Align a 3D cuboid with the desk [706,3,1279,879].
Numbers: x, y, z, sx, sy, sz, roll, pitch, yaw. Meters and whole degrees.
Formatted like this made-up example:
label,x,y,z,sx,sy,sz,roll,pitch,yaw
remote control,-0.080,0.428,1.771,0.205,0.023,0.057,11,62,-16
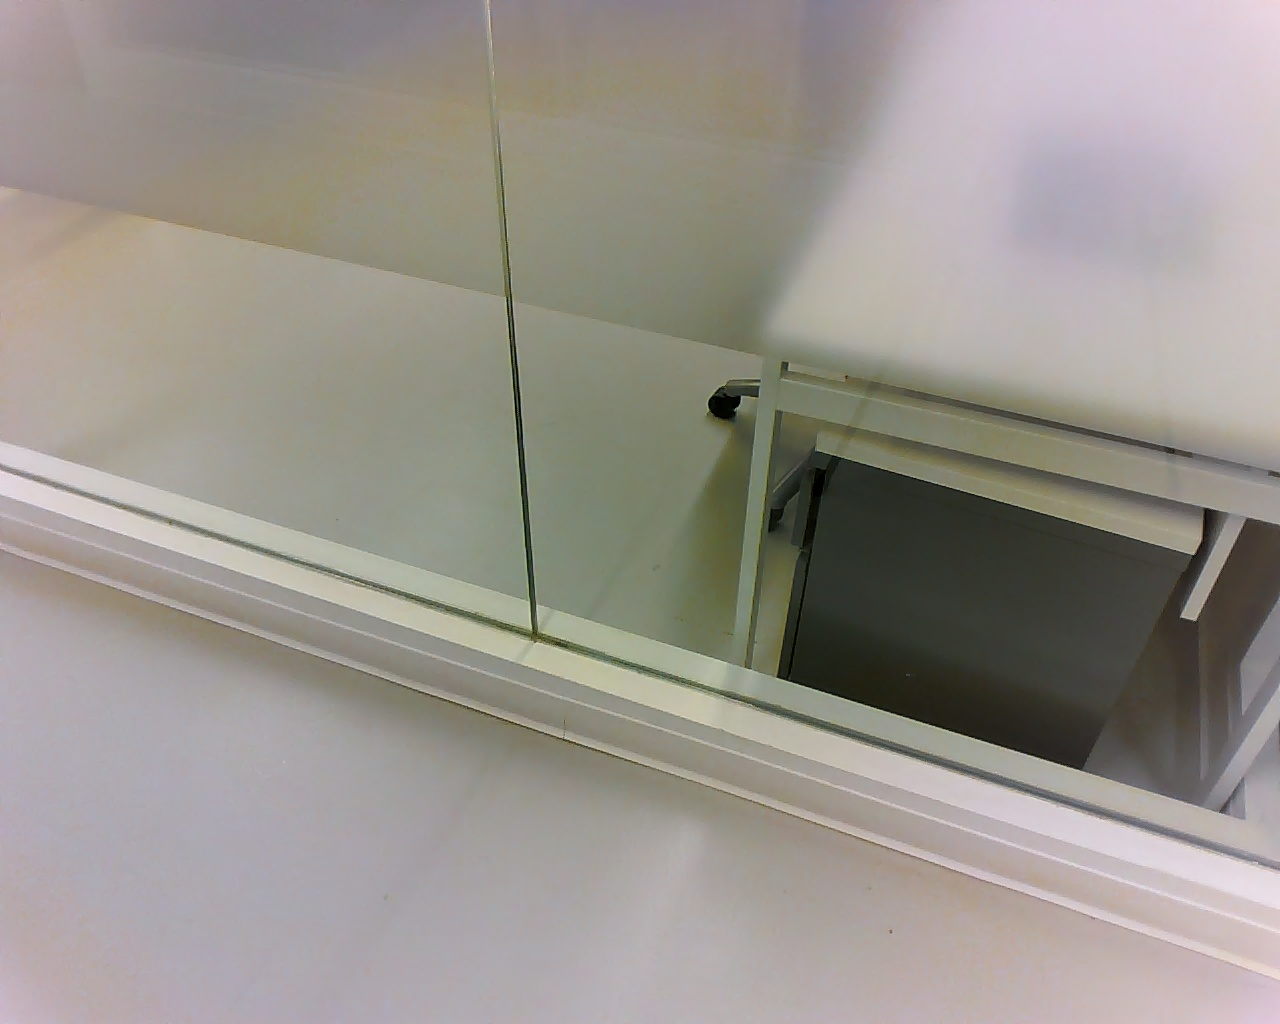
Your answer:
label,x,y,z,sx,sy,sz,roll,pitch,yaw
desk,0.770,-0.270,1.950,0.860,0.760,1.390,15,44,16
